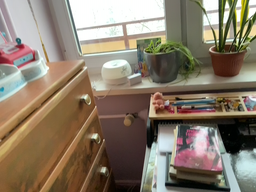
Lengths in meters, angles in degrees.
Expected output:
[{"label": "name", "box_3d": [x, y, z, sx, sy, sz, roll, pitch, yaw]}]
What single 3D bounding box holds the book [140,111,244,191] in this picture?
[{"label": "book", "box_3d": [0.210, 0.180, 0.750, 0.280, 0.110, 0.300, -2, 27, 14]}]
